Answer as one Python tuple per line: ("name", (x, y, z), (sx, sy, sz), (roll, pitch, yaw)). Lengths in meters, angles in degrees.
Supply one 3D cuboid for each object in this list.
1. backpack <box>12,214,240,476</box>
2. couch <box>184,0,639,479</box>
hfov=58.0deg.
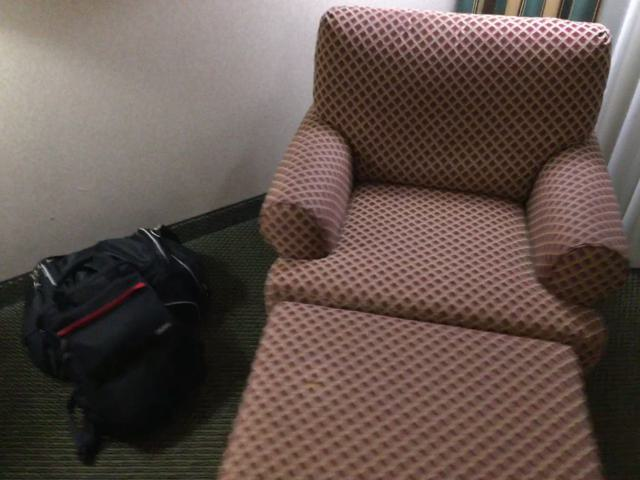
("backpack", (-0.490, 0.250, 1.500), (0.400, 0.400, 0.390), (-20, 41, -24))
("couch", (0.320, -0.070, 1.570), (0.960, 0.870, 0.860), (8, 38, 11))
